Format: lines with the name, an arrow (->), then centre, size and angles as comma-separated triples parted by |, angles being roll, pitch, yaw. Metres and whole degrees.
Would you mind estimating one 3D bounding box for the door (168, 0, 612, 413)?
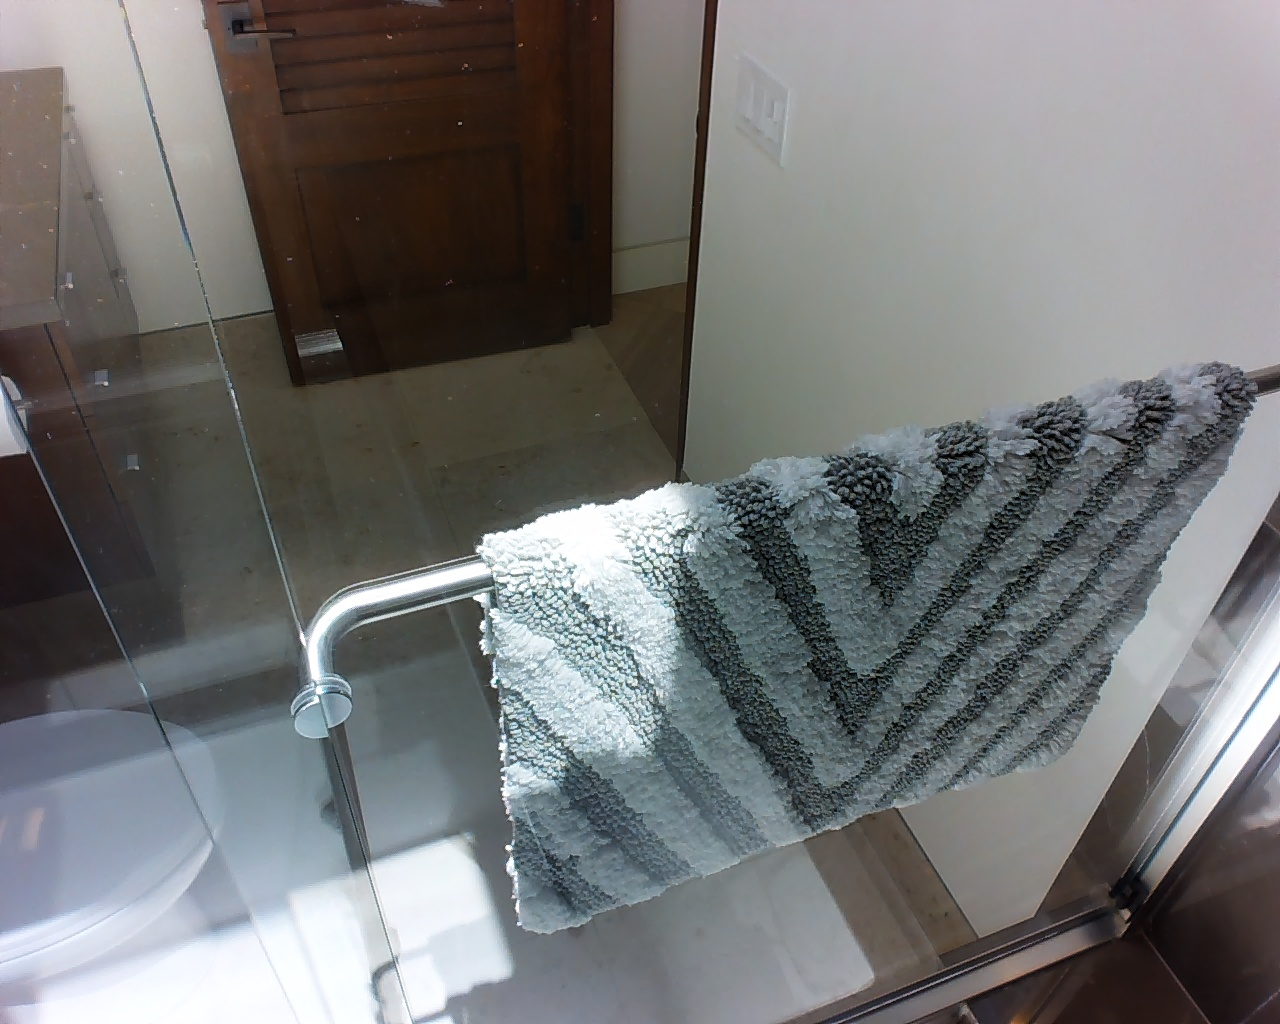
door -> -0.510, -1.290, 2.140 | 0.930, 2.450, 0.100 | -13, 45, -15
